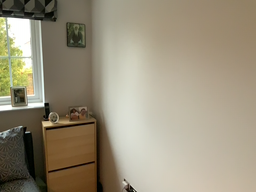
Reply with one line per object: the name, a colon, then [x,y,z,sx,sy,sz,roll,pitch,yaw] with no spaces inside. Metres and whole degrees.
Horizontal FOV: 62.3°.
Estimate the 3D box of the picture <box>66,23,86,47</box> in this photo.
picture: [-0.540,-0.630,2.210,0.190,0.230,0.030,-3,11,-26]
